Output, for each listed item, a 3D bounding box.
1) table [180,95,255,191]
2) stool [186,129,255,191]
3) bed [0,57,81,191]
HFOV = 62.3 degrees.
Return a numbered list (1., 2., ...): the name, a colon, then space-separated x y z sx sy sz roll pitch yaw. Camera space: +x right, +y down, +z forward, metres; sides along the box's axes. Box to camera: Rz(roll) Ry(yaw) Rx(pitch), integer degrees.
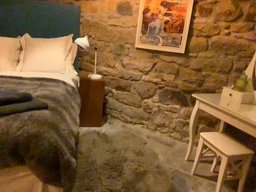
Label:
1. table: 1.080 0.470 1.990 0.610 0.710 0.930 -1 18 -23
2. stool: 0.830 0.600 1.940 0.330 0.440 0.420 0 18 -21
3. bed: -1.370 0.110 2.280 1.570 0.680 2.350 3 17 -11
